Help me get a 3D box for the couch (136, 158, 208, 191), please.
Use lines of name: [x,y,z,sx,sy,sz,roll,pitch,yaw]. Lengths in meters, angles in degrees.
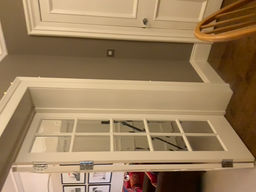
couch: [0.550,1.320,2.920,0.810,0.750,0.730,148,123,-80]
